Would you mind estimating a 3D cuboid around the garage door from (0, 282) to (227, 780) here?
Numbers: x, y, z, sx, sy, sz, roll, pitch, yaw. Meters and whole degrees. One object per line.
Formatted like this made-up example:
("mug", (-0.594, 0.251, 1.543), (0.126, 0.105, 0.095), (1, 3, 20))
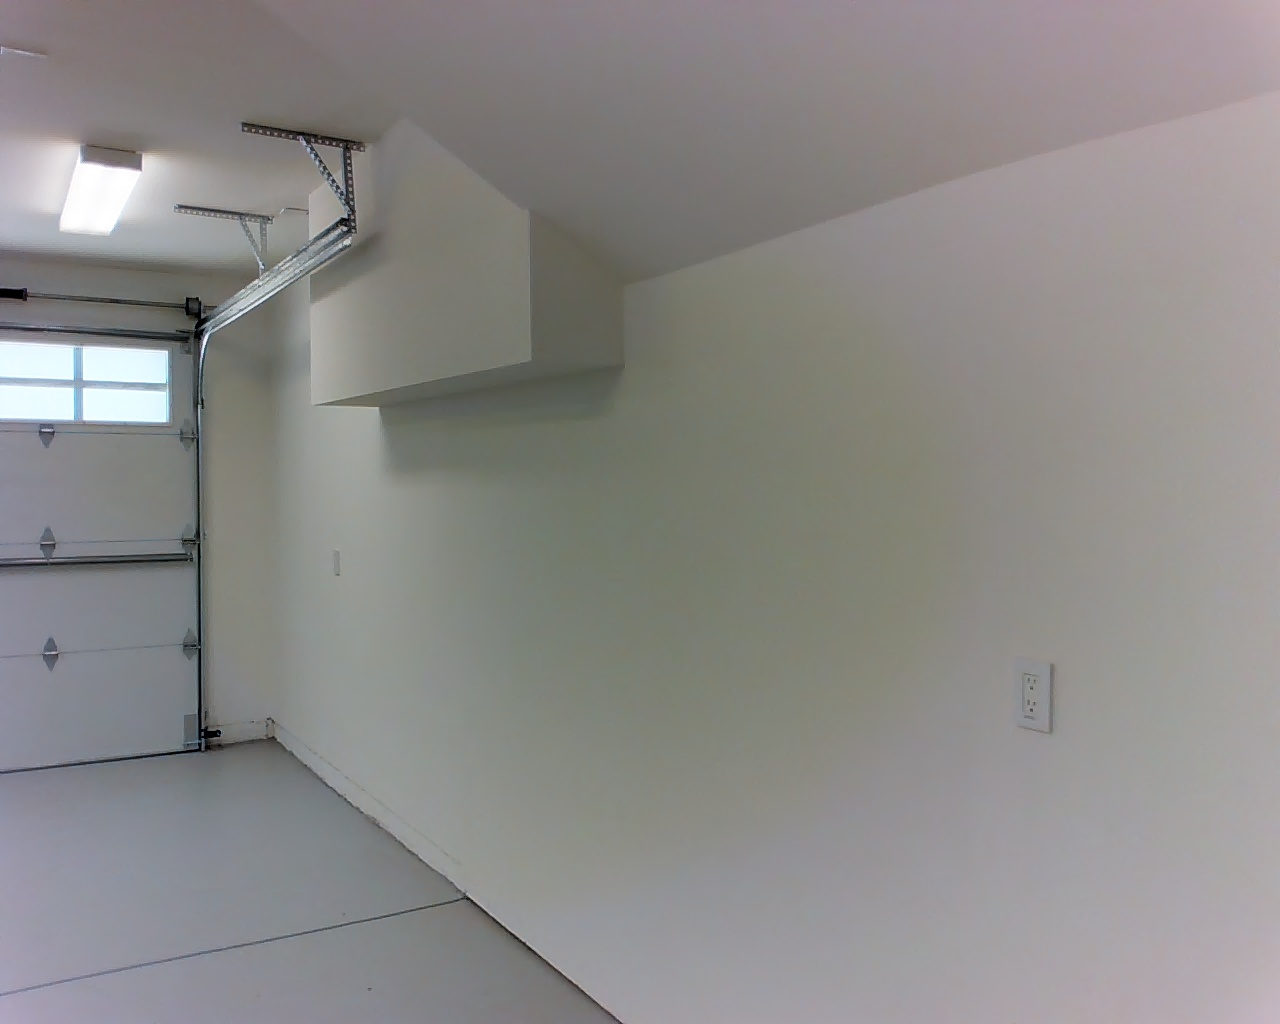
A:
("garage door", (-4.010, 0.110, 5.450), (3.580, 2.660, 0.150), (-1, 1, -32))
